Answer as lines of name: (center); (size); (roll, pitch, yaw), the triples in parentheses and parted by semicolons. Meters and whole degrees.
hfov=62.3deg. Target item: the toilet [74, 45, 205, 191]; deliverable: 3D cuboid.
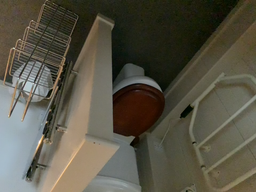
toilet: (0.000, 0.200, 1.500); (0.470, 0.770, 0.700); (19, 127, -21)
